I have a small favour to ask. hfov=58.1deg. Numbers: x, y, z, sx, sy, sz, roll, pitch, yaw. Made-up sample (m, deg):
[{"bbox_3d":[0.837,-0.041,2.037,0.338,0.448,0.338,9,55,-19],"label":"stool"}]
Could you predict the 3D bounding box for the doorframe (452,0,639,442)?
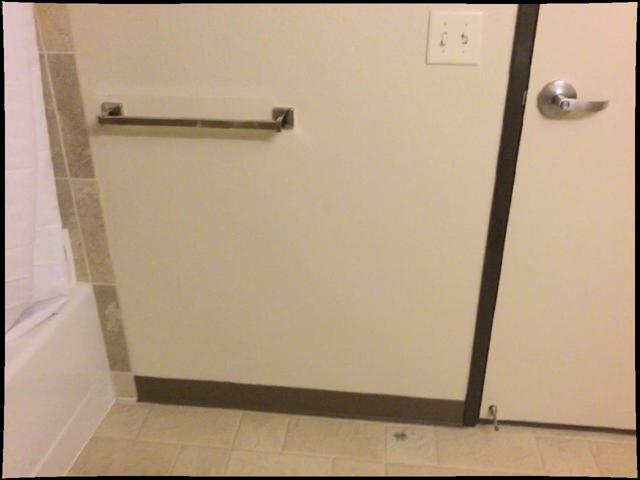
[{"bbox_3d":[0.977,-0.261,1.390,1.097,1.964,0.050,2,26,4],"label":"doorframe"}]
